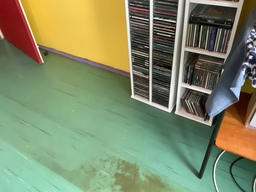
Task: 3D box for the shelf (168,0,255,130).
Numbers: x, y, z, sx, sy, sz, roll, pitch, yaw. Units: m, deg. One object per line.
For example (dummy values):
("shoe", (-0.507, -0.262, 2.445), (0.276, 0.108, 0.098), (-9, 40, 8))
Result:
("shelf", (0.430, -0.270, 1.130), (0.280, 1.020, 0.230), (21, 48, 25))
